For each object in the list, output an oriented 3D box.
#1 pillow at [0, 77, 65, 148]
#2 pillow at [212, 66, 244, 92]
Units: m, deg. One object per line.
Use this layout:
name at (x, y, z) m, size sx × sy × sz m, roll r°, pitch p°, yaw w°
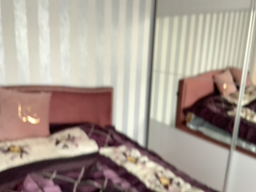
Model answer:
pillow at (-0.780, 0.110, 1.640) m, size 0.410 × 0.440 × 0.200 m, roll -10°, pitch -15°, yaw -46°
pillow at (1.750, -0.310, 3.670) m, size 0.670 × 0.360 × 0.140 m, roll -11°, pitch -10°, yaw -41°
